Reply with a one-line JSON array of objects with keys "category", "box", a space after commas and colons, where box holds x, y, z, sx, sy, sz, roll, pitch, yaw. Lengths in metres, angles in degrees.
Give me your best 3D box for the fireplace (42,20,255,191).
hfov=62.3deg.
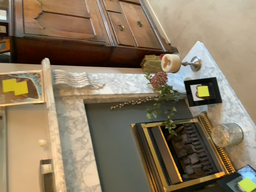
[{"category": "fireplace", "box": [0.190, 0.350, 1.330, 0.600, 1.190, 1.550, -58, 43, 48]}]
